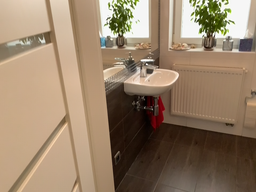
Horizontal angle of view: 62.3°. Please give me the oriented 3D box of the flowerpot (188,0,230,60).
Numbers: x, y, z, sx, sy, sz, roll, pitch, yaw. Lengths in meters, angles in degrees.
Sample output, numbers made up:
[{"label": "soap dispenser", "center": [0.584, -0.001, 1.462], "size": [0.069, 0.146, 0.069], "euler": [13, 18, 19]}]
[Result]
[{"label": "flowerpot", "center": [0.810, -0.710, 2.150], "size": [0.320, 0.610, 0.290], "euler": [5, 24, 19]}]

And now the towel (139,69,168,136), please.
[{"label": "towel", "center": [0.270, 0.070, 2.250], "size": [0.240, 0.660, 0.180], "euler": [8, 25, 24]}]
